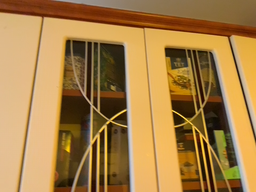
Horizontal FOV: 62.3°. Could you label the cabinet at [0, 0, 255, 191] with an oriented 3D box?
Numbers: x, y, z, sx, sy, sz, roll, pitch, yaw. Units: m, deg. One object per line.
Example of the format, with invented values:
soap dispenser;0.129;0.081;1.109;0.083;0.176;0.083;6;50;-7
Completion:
cabinet;0.050;0.130;0.680;1.360;0.800;0.340;2;-22;-12
